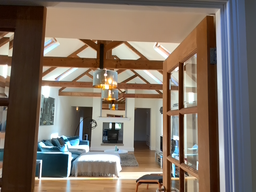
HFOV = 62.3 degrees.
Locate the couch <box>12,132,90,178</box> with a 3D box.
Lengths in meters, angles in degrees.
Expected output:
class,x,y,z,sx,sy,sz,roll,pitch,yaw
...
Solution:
class,x,y,z,sx,sy,sz,roll,pitch,yaw
couch,-2.280,1.810,7.220,1.400,0.860,3.640,1,-6,-2
